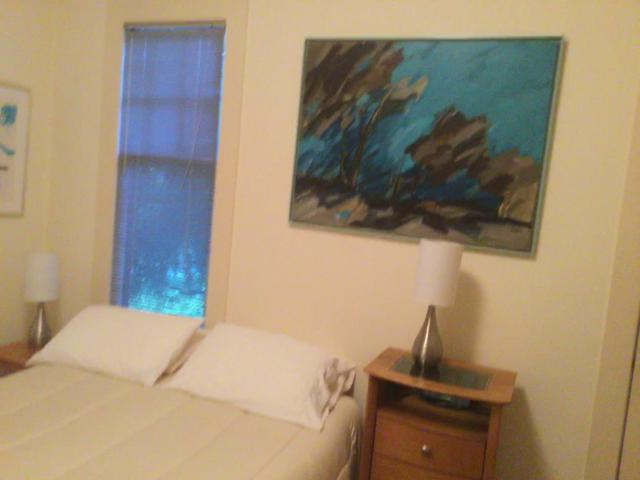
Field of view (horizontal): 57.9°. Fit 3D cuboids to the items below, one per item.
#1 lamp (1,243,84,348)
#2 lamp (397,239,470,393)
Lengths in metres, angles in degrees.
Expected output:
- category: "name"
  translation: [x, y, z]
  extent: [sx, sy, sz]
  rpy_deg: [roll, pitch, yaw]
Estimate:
- category: "lamp"
  translation: [-1.520, 0.290, 3.180]
  extent: [0.200, 0.510, 0.330]
  rpy_deg: [8, 5, 23]
- category: "lamp"
  translation: [0.470, 0.290, 2.360]
  extent: [0.160, 0.560, 0.330]
  rpy_deg: [8, 5, 23]
